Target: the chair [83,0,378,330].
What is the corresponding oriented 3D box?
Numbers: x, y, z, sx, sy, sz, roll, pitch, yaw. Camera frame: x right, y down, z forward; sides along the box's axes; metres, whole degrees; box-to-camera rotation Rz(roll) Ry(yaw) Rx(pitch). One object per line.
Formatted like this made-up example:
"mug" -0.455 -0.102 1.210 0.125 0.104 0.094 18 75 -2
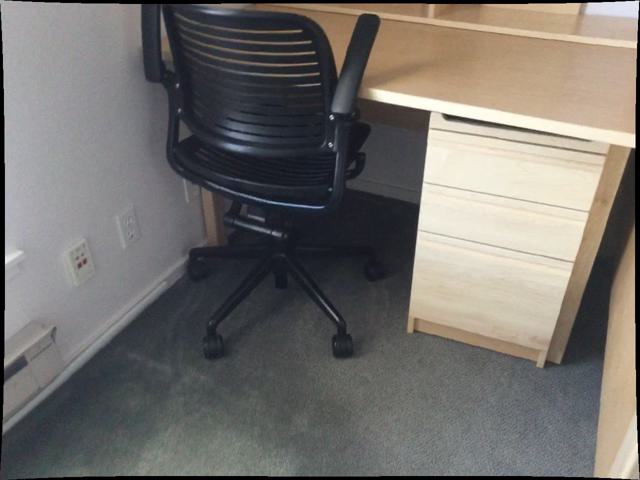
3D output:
"chair" -0.210 -0.220 1.550 0.639 0.791 0.250 14 36 20
